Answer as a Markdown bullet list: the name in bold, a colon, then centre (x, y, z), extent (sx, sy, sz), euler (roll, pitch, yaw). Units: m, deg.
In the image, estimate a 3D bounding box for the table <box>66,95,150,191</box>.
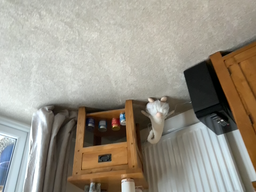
- **table**: centre (-0.130, 0.420, 1.770), extent (0.520, 0.590, 0.540), euler (-9, 145, 6)
